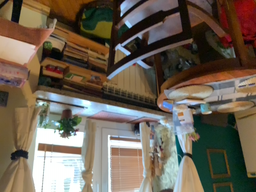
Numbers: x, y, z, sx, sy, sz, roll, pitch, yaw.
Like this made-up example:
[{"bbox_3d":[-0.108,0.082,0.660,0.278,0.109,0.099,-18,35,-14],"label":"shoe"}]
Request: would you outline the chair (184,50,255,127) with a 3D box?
[{"bbox_3d":[1.230,-0.060,2.890,0.560,0.800,0.590,13,155,-35],"label":"chair"}]
